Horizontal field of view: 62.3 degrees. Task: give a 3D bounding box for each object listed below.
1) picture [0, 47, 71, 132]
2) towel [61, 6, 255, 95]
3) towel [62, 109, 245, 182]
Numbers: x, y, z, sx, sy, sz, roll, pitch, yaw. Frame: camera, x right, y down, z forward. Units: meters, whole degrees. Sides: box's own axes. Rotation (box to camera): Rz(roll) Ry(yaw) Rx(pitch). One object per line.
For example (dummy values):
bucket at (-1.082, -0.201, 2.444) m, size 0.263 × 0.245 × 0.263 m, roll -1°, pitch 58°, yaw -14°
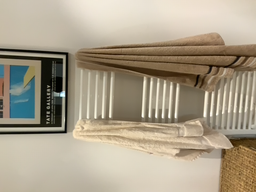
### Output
picture at (-0.630, -0.030, 1.100) m, size 0.040 × 0.630 × 0.430 m, roll -160°, pitch 72°, yaw -76°
towel at (0.330, -0.200, 1.170) m, size 0.220 × 1.310 × 0.350 m, roll -158°, pitch 70°, yaw -76°
towel at (0.150, 0.250, 1.180) m, size 0.200 × 0.970 × 0.310 m, roll -156°, pitch 68°, yaw -76°
